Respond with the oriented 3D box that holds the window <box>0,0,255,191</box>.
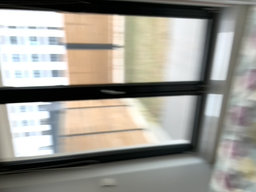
[{"bbox_3d":[-0.120,-0.040,1.910,0.210,2.330,1.730,-123,33,-63],"label":"window"}]
